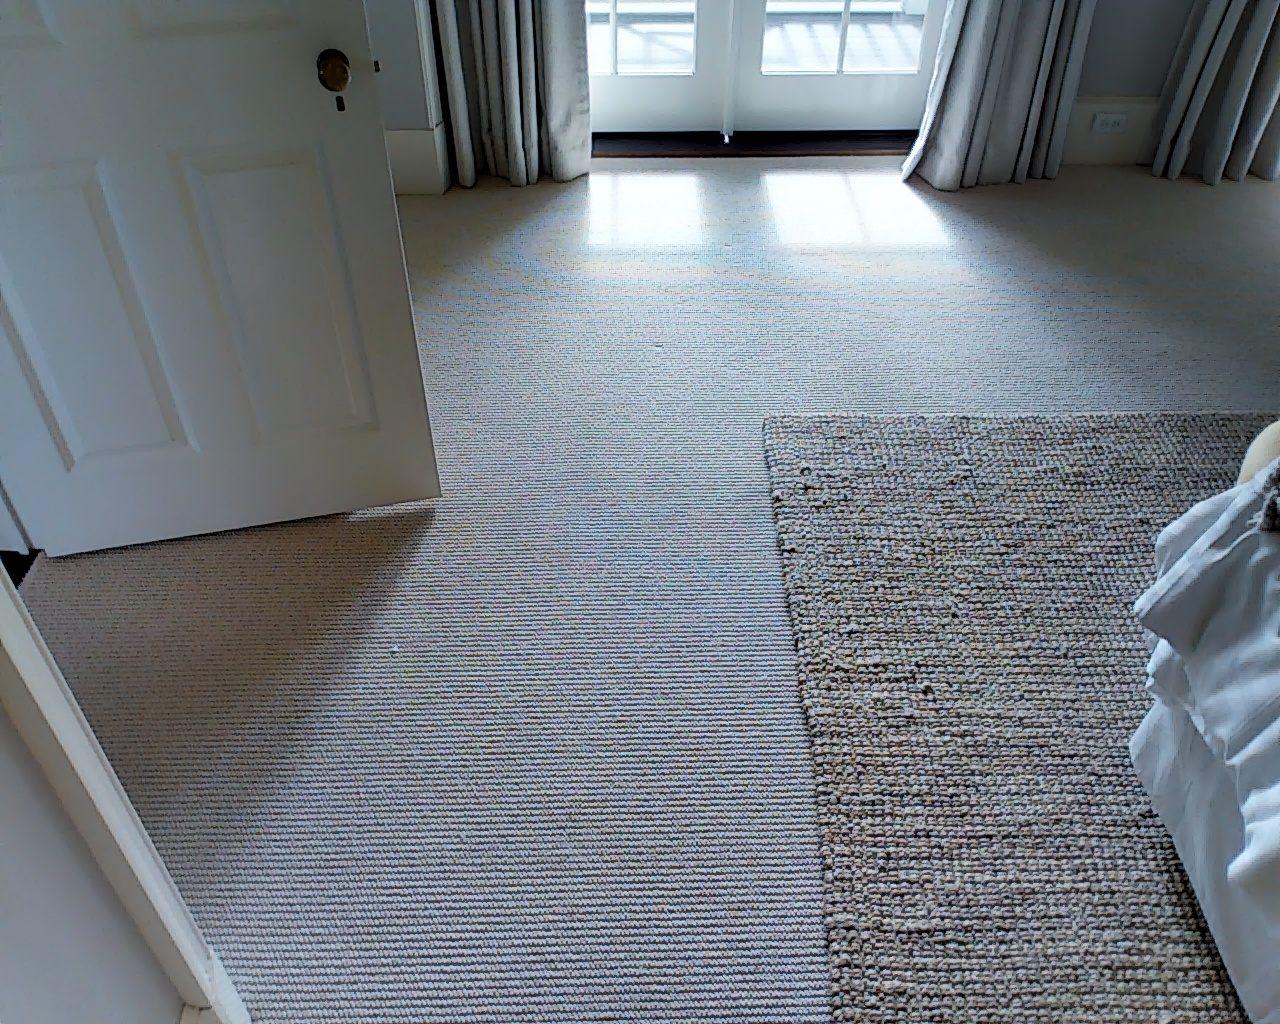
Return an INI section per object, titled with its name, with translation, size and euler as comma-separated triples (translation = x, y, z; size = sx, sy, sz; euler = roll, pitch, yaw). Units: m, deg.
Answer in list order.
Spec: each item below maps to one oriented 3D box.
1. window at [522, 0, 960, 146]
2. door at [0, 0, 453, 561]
[window]
translation = 0.330, -2.080, 3.150
size = 1.420, 2.020, 0.100
euler = -1, 42, -1
[door]
translation = -0.820, -0.750, 1.590
size = 0.840, 2.090, 0.030
euler = -10, 43, -11
